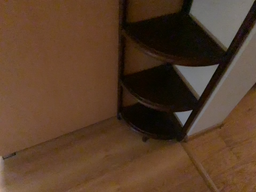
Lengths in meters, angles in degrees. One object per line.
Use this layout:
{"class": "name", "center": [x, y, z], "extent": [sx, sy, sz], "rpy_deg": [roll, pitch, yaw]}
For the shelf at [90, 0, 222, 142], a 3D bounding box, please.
{"class": "shelf", "center": [0.060, -0.180, 0.890], "extent": [0.310, 0.970, 0.300], "rpy_deg": [-21, 60, -16]}
